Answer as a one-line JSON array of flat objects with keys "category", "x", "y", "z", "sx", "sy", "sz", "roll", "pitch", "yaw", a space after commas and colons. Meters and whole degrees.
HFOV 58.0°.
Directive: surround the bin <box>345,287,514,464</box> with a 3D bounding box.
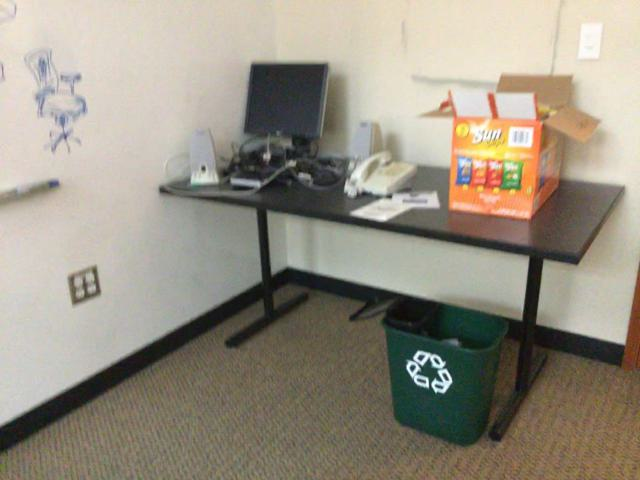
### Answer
[{"category": "bin", "x": 0.360, "y": 0.430, "z": 1.940, "sx": 0.470, "sy": 0.390, "sz": 0.280, "roll": 9, "pitch": 21, "yaw": 30}]
